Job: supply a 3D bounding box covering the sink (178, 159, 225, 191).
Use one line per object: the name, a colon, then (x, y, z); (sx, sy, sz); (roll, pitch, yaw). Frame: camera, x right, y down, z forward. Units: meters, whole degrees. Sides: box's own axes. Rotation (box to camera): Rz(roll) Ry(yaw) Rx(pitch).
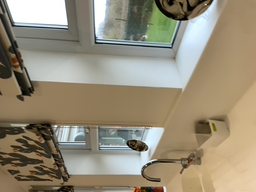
sink: (0.560, 0.760, 1.580); (0.290, 0.200, 0.480); (100, 170, -52)
